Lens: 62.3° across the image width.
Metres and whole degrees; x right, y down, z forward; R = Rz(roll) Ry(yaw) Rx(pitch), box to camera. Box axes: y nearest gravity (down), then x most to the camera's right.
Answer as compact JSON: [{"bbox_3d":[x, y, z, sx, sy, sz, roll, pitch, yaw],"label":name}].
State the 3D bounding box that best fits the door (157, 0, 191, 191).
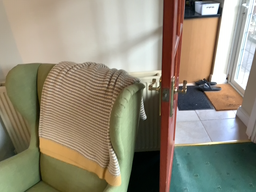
[{"bbox_3d":[0.260,-0.180,1.200,0.090,2.020,0.810,4,31,12],"label":"door"}]
